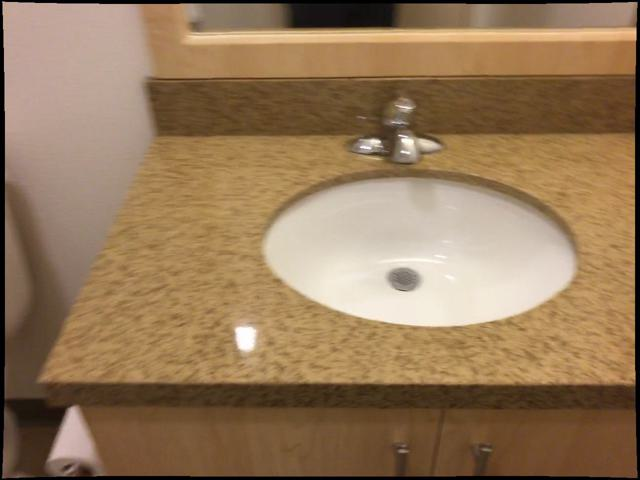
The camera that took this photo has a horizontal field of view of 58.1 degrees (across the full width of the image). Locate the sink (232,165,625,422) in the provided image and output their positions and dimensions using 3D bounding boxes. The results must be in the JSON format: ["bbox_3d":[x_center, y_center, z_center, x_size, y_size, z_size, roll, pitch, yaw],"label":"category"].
[{"bbox_3d":[0.130,0.060,0.860,0.449,0.180,0.360,0,37,3],"label":"sink"}]
